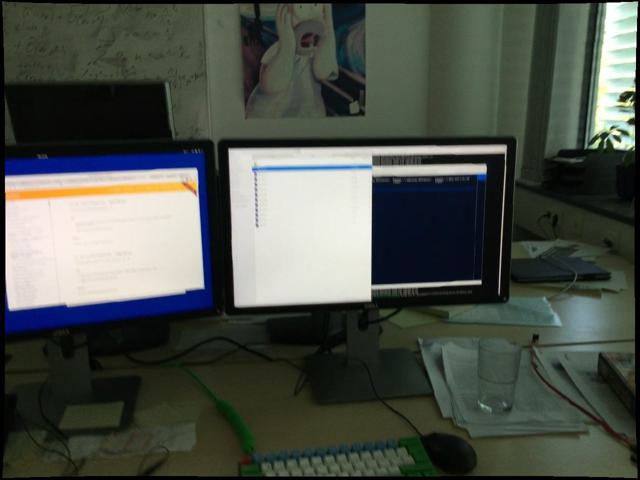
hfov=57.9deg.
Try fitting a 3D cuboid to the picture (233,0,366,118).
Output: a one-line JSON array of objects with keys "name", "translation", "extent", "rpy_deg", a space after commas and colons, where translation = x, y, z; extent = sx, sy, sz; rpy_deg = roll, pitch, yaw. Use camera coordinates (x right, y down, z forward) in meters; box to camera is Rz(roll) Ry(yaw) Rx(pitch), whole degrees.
[{"name": "picture", "translation": [-0.100, -1.061, 2.760], "extent": [0.609, 0.901, 0.100], "rpy_deg": [-4, 15, -4]}]

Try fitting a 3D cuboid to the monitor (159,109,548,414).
[{"name": "monitor", "translation": [0.060, 0.010, 1.210], "extent": [0.659, 0.510, 0.360], "rpy_deg": [-4, 15, -4]}]
